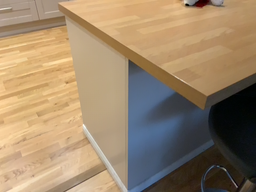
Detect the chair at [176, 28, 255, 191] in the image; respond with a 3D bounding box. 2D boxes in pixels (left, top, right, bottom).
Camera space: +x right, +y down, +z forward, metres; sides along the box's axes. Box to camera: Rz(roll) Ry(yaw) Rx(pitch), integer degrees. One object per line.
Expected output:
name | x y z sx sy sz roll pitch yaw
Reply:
chair | 0.520 0.280 0.820 0.490 0.910 0.490 3 37 3
